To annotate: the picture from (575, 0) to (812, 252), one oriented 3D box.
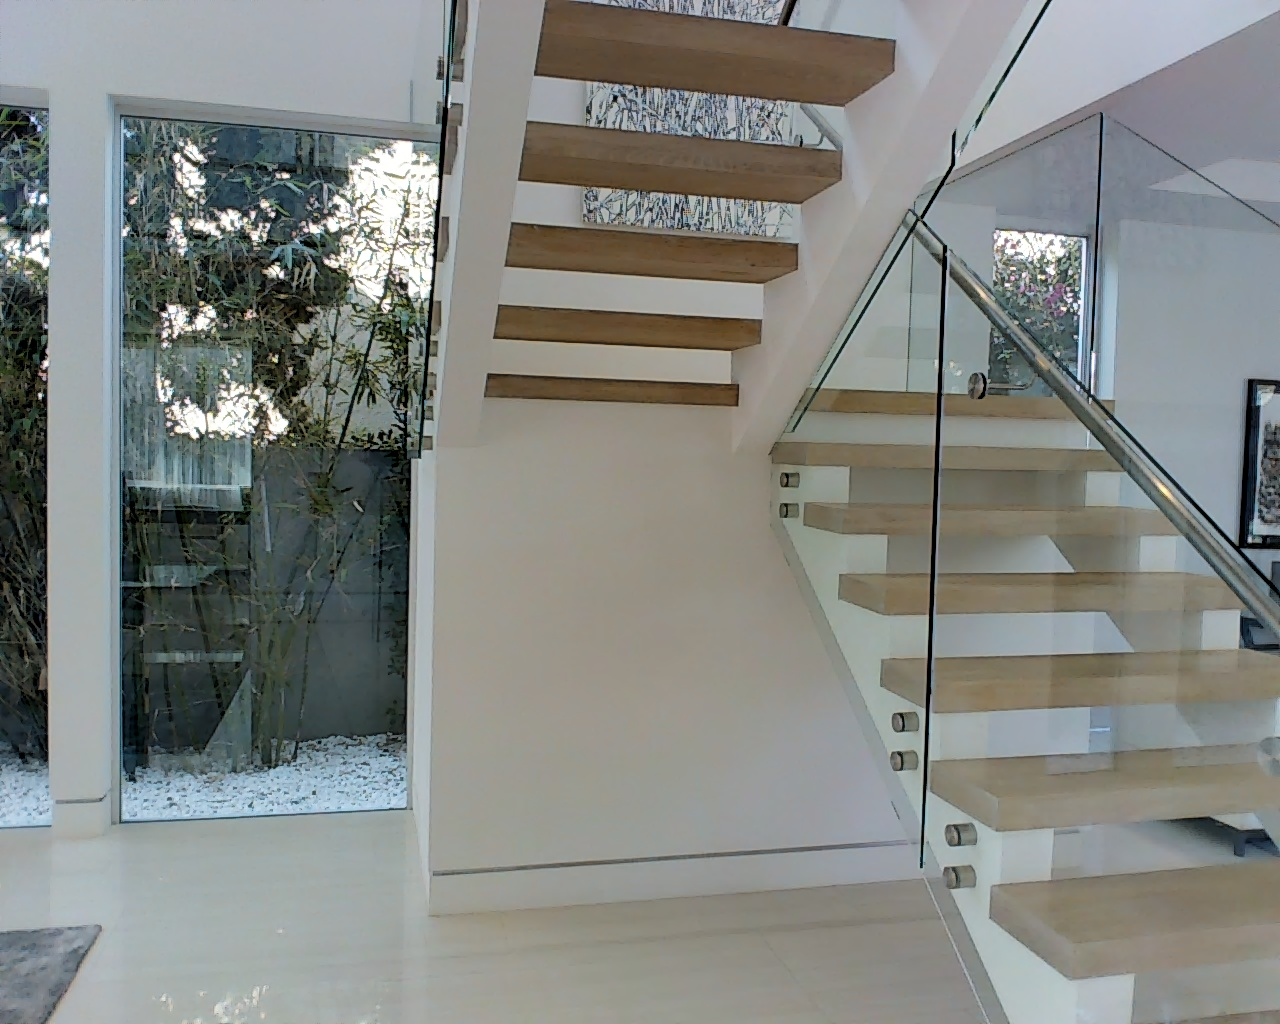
[{"bbox_3d":[0.260,-1.911,5.040,1.110,1.291,0.060,1,3,-14],"label":"picture"}]
